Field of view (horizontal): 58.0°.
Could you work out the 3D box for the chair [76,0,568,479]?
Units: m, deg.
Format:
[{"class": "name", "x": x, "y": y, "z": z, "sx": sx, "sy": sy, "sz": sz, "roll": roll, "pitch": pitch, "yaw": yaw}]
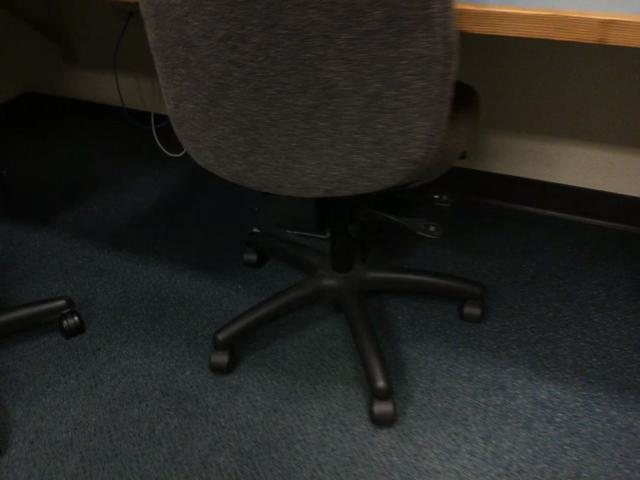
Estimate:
[{"class": "chair", "x": 0.060, "y": -0.180, "z": 1.060, "sx": 0.590, "sy": 0.950, "sz": 0.590, "roll": 15, "pitch": 37, "yaw": 21}]
